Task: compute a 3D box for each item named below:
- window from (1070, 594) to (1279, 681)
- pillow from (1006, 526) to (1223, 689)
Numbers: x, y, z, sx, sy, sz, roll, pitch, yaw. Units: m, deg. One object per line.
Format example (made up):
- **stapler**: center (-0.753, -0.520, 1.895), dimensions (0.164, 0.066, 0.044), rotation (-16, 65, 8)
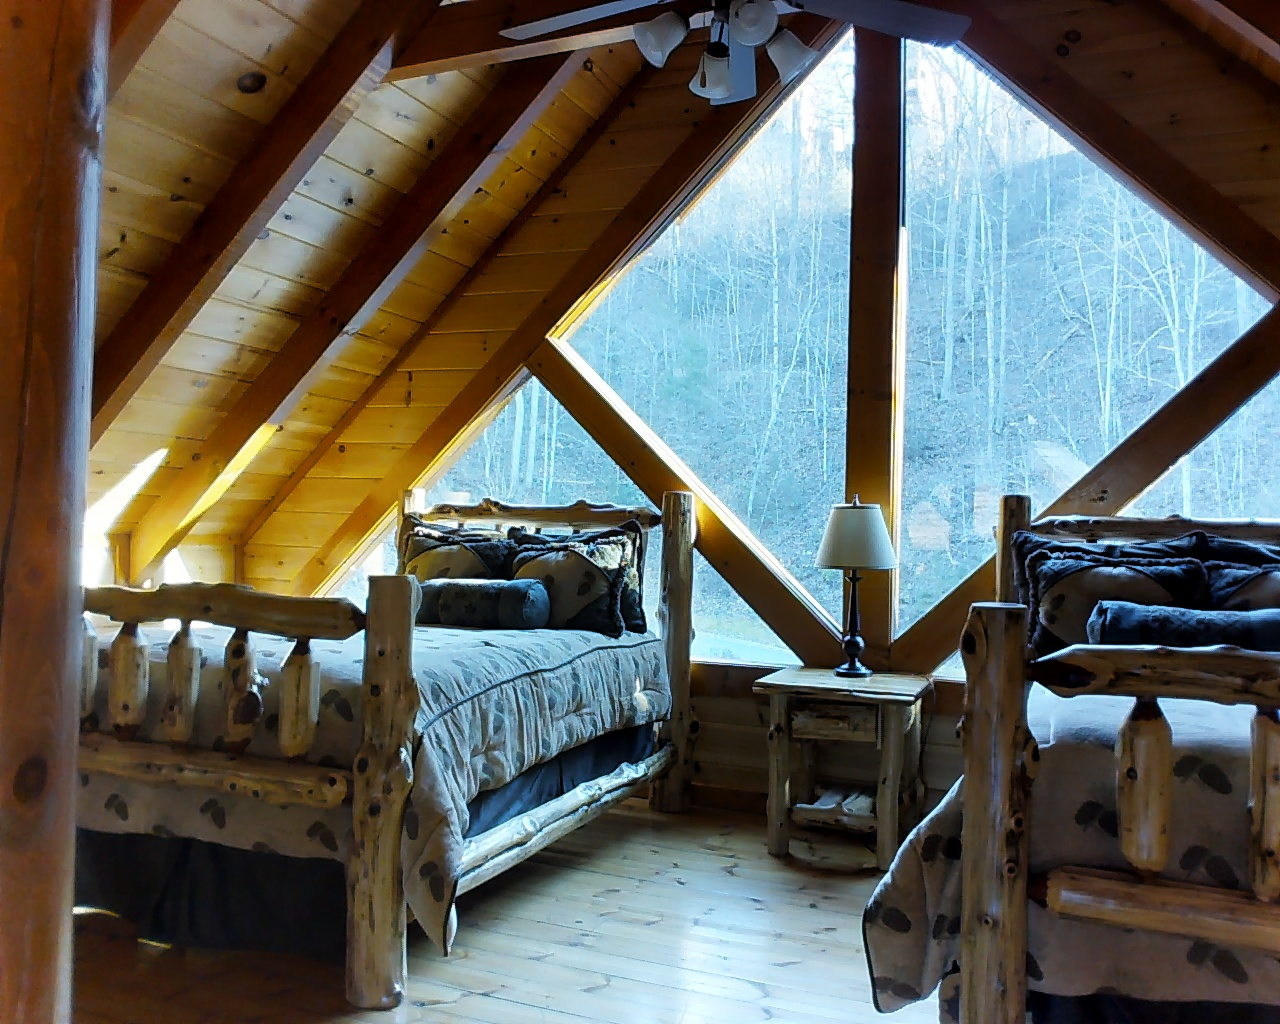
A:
- **window**: center (1.629, 0.370, 3.240), dimensions (0.620, 0.210, 0.240), rotation (1, -1, 22)
- **pillow**: center (1.589, 0.300, 3.660), dimensions (0.630, 0.490, 0.480), rotation (1, -1, 21)
